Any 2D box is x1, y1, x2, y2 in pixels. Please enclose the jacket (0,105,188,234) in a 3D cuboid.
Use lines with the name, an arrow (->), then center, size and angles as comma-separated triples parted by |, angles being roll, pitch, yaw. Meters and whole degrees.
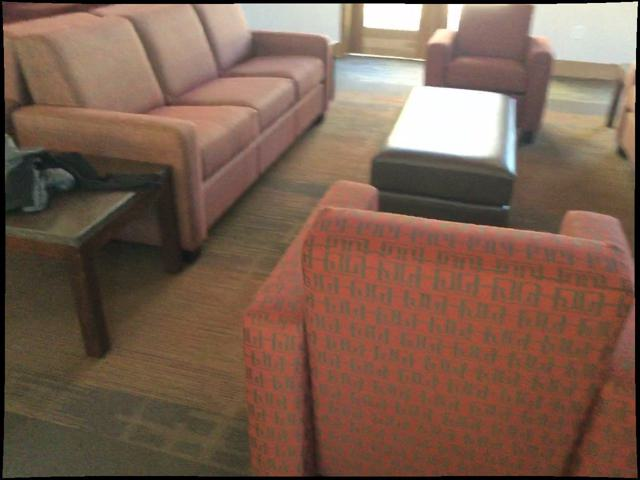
jacket -> -0.839, -0.270, 1.980 | 0.550, 0.200, 0.550 | 9, 28, 14

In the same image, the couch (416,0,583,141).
couch -> 1.209, -1.241, 3.990 | 0.889, 0.811, 0.800 | 9, 28, 14

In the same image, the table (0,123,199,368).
table -> -0.929, -0.030, 2.110 | 0.699, 0.560, 0.650 | 9, 28, 14

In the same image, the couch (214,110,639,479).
couch -> 0.320, 0.210, 1.450 | 0.859, 0.811, 0.760 | 9, 28, 14

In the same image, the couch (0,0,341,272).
couch -> -0.599, -0.821, 3.180 | 0.859, 0.921, 2.180 | 9, 28, 14

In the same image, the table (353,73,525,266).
table -> 0.629, -0.430, 2.830 | 0.619, 0.470, 1.270 | 9, 28, 14
